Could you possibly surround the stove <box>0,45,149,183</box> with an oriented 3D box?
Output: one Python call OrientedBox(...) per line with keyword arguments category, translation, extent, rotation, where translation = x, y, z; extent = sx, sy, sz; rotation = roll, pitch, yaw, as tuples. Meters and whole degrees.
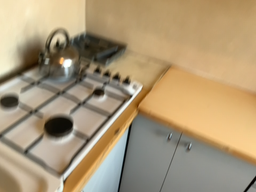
OrientedBox(category="stove", translation=(-0.280, -0.020, 0.900), extent=(0.550, 0.050, 0.620), rotation=(22, 37, 17))
